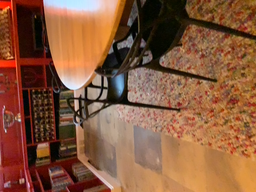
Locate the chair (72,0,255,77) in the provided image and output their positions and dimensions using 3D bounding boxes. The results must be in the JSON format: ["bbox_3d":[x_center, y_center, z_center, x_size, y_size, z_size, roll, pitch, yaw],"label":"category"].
[{"bbox_3d":[0.210,-0.420,1.190,0.470,0.890,0.400,-56,47,48],"label":"chair"}]
